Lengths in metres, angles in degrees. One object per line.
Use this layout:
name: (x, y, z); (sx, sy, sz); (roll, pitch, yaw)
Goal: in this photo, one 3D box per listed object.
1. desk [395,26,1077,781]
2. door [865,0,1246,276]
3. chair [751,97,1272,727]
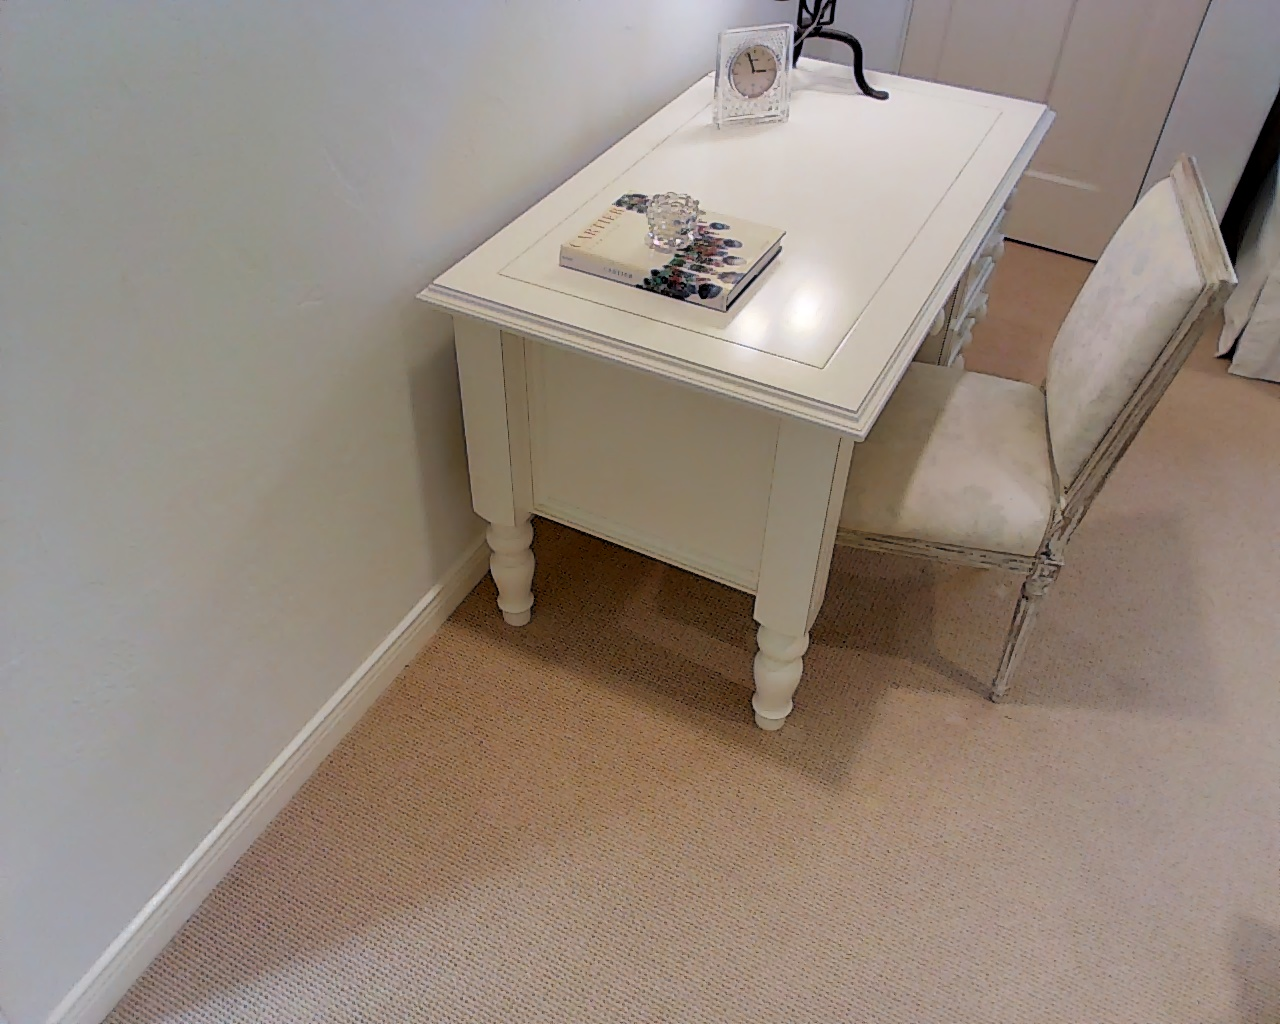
desk: (0.250, -0.310, 2.190); (0.780, 0.800, 1.240); (20, 47, 19)
door: (1.170, -1.640, 2.720); (0.870, 2.070, 0.060); (20, 45, 19)
chair: (0.560, -0.150, 1.910); (0.580, 0.930, 0.500); (9, 43, 7)
